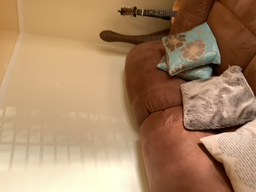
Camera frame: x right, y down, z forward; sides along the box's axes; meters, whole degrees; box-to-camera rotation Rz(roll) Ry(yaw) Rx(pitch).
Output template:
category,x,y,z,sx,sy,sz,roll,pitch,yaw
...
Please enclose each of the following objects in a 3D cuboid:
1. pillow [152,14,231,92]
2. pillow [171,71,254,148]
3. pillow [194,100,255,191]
category,x,y,z,sx,sy,sz,roll,pitch,yaw
pillow,0.470,-0.340,1.650,0.250,0.410,0.430,51,-163,-42
pillow,0.510,0.080,1.330,0.180,0.350,0.320,51,-163,-40
pillow,0.600,0.290,1.040,0.210,0.360,0.410,55,-166,-43
